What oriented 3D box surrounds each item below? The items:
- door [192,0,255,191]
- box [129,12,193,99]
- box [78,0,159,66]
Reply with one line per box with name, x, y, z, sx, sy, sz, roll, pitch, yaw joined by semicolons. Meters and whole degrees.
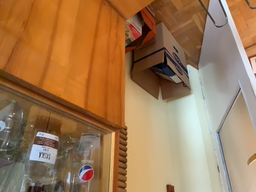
door;0.590;0.250;1.160;0.060;2.110;0.780;-4;148;7
box;0.270;-0.310;1.750;0.280;0.440;0.500;-21;143;30
box;-0.050;-0.490;1.400;0.320;0.320;0.400;-24;141;33
